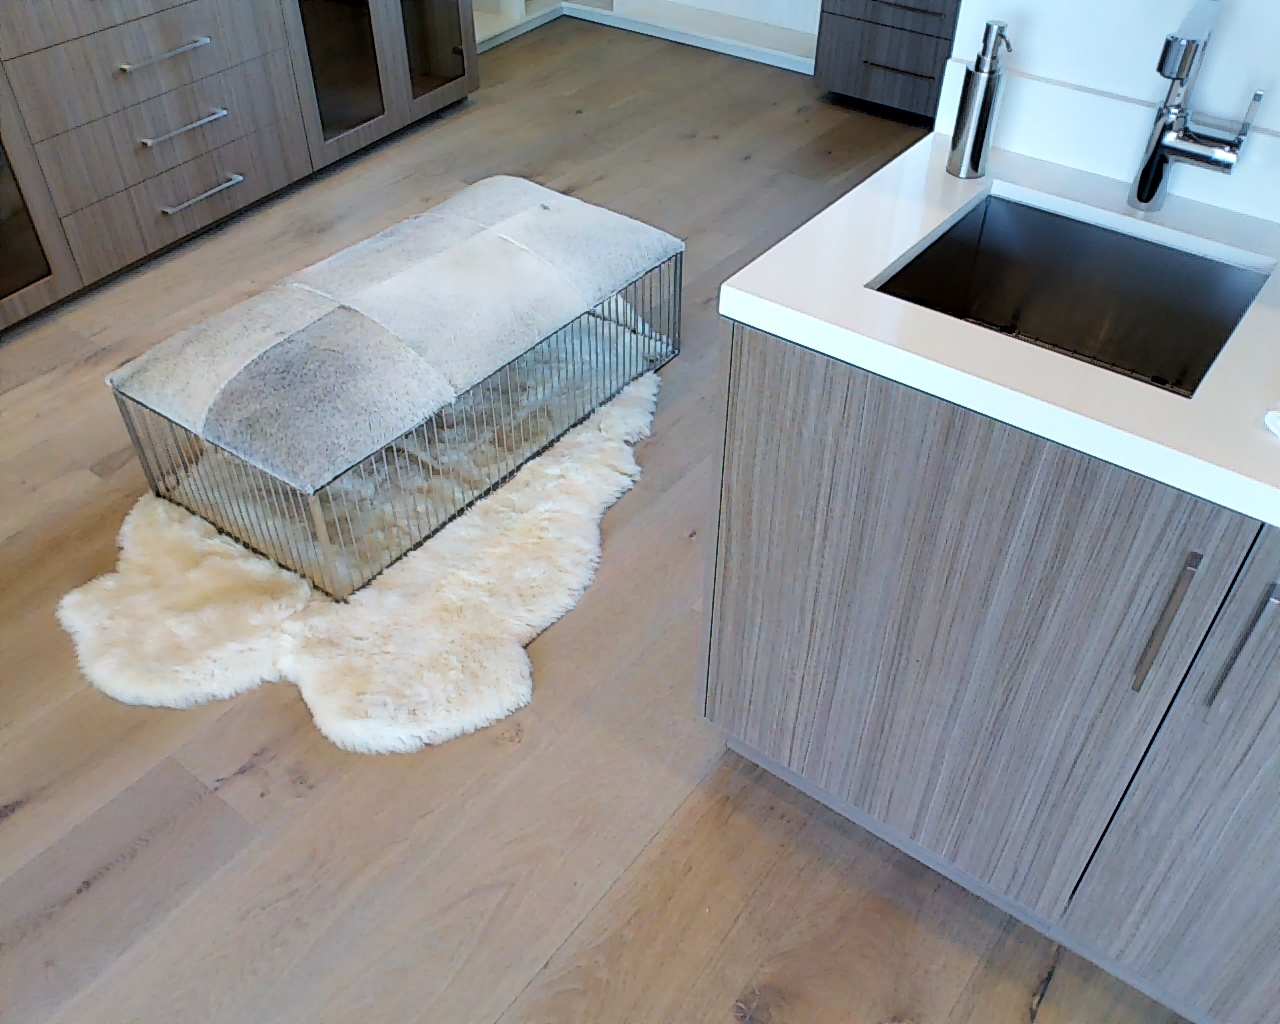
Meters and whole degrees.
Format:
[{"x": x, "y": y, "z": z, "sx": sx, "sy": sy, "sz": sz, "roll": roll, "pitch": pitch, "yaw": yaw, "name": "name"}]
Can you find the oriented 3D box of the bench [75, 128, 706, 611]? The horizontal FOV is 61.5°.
[{"x": -0.490, "y": -0.420, "z": 2.510, "sx": 0.680, "sy": 0.400, "sz": 1.240, "roll": 27, "pitch": 49, "yaw": 27, "name": "bench"}]
